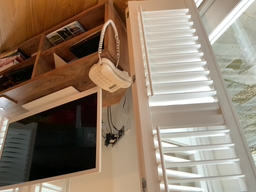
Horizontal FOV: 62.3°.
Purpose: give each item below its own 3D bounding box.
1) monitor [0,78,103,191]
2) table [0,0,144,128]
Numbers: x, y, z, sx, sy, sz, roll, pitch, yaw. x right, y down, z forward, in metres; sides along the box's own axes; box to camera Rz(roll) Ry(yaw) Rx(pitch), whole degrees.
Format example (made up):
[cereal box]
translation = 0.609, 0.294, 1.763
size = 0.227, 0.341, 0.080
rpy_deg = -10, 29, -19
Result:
[monitor]
translation = -0.470, 0.230, 1.200
size = 0.750, 0.490, 0.040
rpy_deg = -19, 146, 22
[table]
translation = -0.450, -0.180, 1.430
size = 0.990, 0.450, 0.420
rpy_deg = -18, 146, 21
